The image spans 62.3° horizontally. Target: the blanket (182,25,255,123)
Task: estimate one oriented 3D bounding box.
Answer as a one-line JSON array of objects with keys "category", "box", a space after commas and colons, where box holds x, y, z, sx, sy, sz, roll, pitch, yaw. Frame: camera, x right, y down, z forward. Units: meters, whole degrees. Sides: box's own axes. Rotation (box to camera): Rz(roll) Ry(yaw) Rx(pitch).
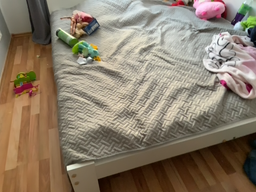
[{"category": "blanket", "box": [0.720, -0.200, 1.370, 0.410, 0.200, 0.730, -10, 42, -12]}]
